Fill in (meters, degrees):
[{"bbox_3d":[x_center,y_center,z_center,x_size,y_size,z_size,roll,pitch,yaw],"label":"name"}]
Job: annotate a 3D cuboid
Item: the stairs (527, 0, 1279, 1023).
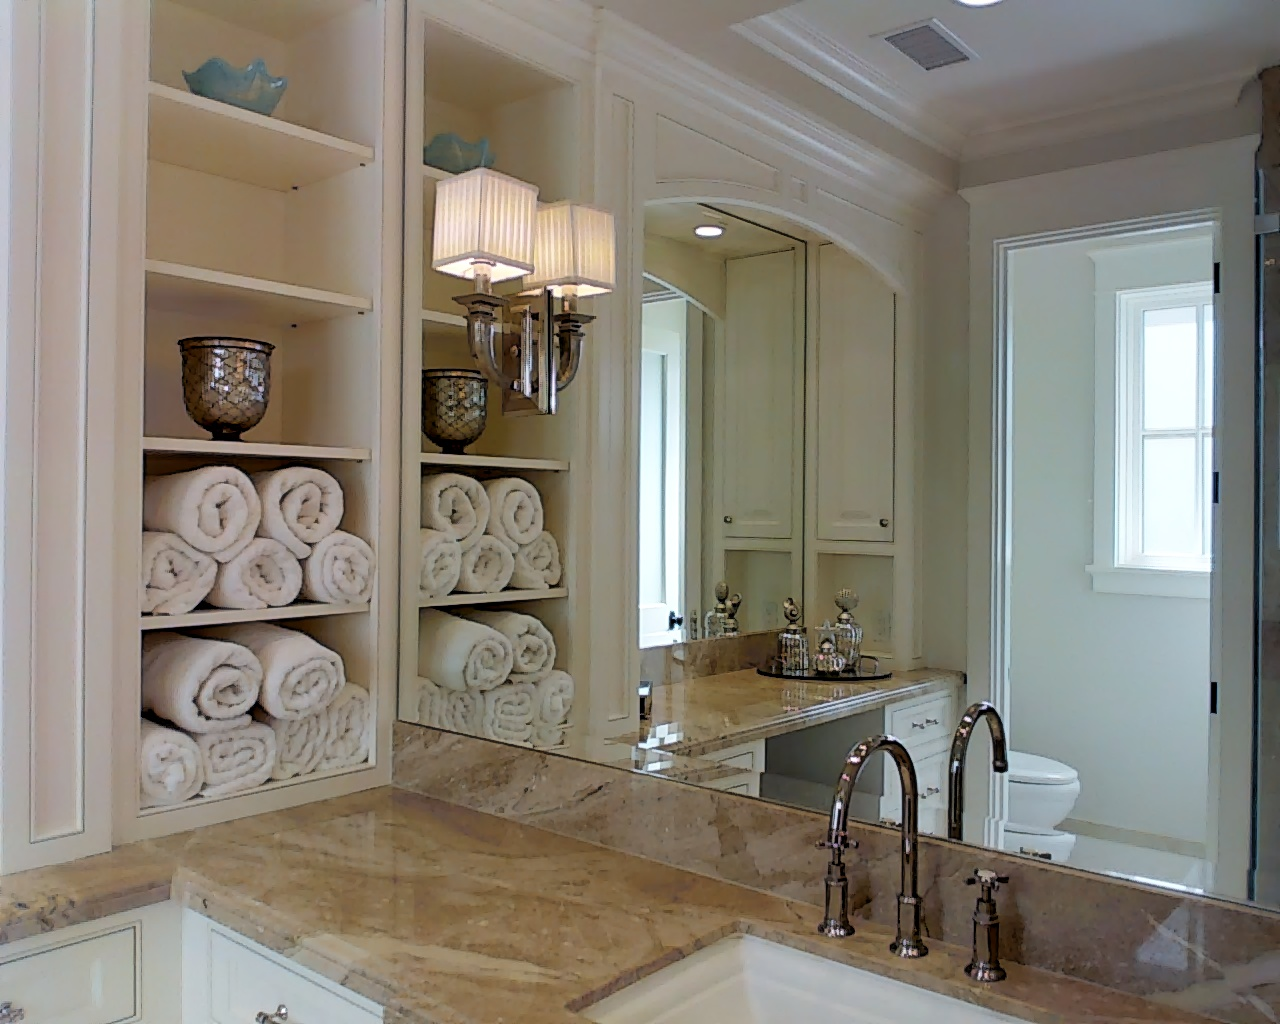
[{"bbox_3d":[1.179,-0.050,3.270,3.239,2.641,1.130,1,0,42],"label":"stairs"}]
